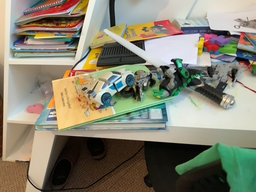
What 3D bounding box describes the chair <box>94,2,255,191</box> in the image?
[{"bbox_3d":[0.260,0.220,0.610,0.580,0.760,0.610,-8,36,-6],"label":"chair"}]
